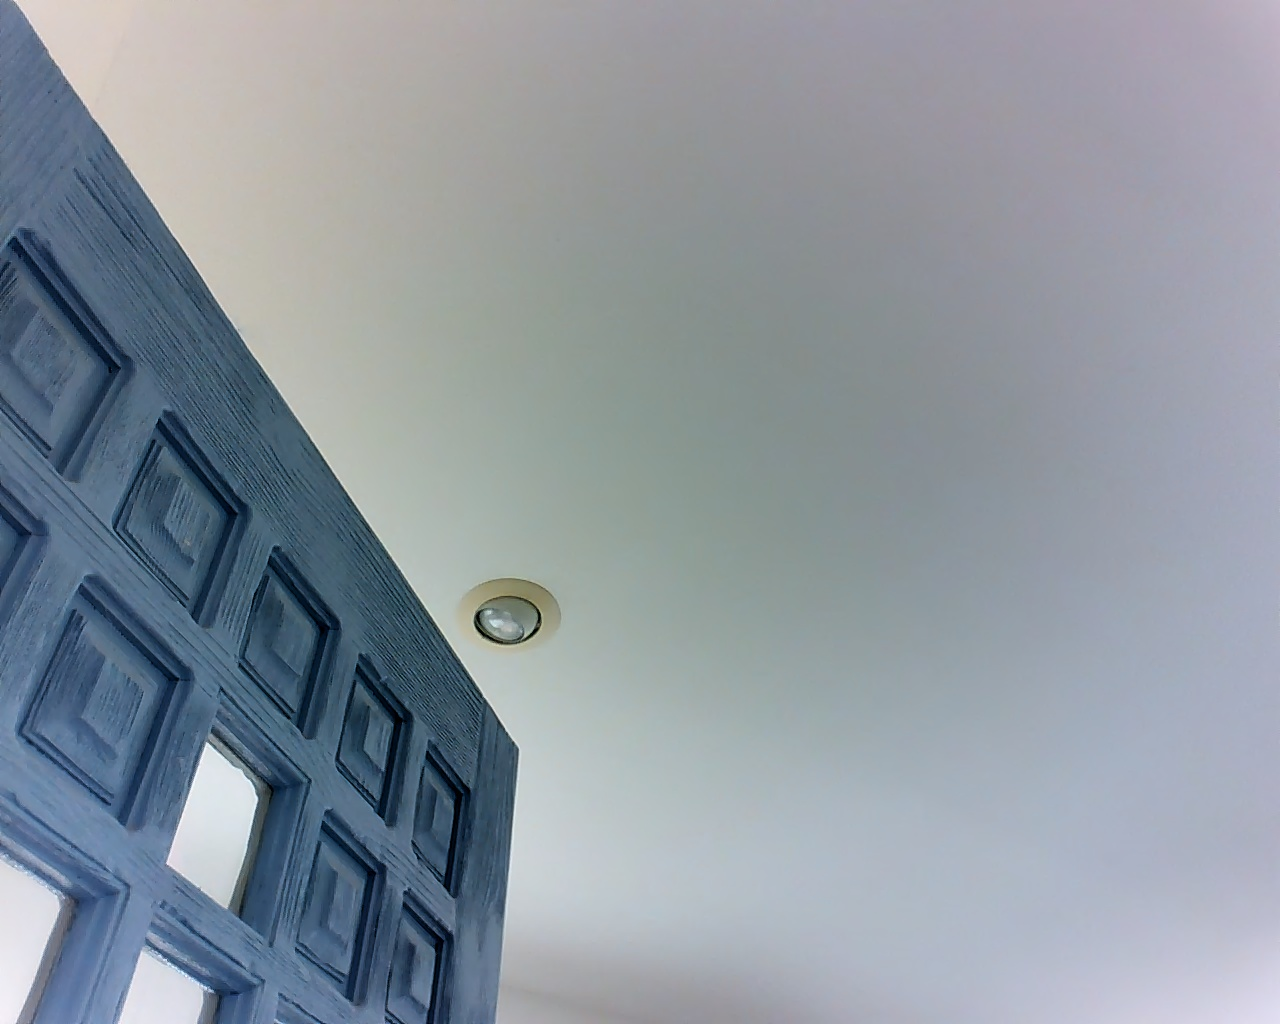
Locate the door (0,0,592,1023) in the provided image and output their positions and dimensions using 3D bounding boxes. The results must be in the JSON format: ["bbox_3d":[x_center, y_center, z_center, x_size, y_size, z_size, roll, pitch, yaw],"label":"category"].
[{"bbox_3d":[-0.240,0.700,0.260,0.070,2.140,0.970,-10,-45,12],"label":"door"}]
